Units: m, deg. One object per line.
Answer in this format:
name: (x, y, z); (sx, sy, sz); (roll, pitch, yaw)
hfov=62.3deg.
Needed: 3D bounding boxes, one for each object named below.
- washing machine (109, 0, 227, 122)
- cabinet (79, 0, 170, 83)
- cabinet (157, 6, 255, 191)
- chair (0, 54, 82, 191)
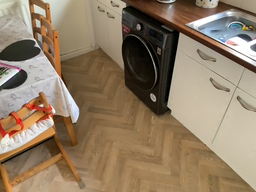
washing machine: (0.320, -0.410, 2.050); (0.710, 0.920, 0.640); (-26, 49, -25)
cabinet: (-0.070, -0.840, 2.520); (0.630, 0.910, 0.840); (-26, 49, -25)
cabinet: (0.980, 0.180, 1.400); (0.620, 0.920, 1.560); (-26, 49, -25)
chair: (-0.690, 0.270, 1.360); (0.470, 0.810, 0.520); (-26, 49, -25)
